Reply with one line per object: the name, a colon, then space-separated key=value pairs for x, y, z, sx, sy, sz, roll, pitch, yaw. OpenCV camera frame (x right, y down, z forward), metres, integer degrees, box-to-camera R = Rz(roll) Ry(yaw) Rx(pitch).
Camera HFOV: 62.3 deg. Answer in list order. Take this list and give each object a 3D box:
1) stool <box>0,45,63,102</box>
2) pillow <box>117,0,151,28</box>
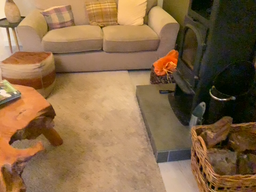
stool: x=-0.980 y=-0.240 z=2.130 sx=0.490 sy=0.370 sz=0.490 roll=1 pitch=36 yaw=-2
pillow: x=0.080 y=-1.120 z=2.730 sx=0.330 sy=0.360 sz=0.110 roll=-19 pitch=39 yaw=10
